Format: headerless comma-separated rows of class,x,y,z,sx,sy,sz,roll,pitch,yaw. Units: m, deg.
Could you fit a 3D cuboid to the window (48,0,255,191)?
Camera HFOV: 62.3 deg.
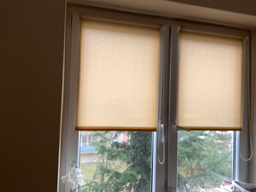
window,0.300,0.160,1.500,1.560,1.580,0.300,3,-2,-13
